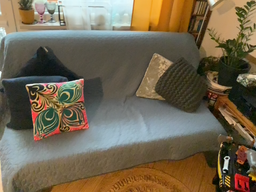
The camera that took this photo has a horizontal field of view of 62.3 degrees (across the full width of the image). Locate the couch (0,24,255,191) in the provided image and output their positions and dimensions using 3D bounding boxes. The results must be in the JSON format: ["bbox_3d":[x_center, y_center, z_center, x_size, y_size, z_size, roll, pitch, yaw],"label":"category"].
[{"bbox_3d":[-0.080,0.010,1.810,1.820,0.870,1.100,-6,38,-19],"label":"couch"}]

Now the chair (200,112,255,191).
[{"bbox_3d":[0.860,0.530,1.490,0.430,0.620,0.460,9,35,1],"label":"chair"}]
